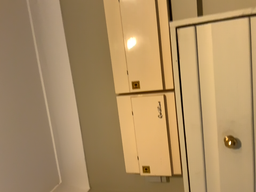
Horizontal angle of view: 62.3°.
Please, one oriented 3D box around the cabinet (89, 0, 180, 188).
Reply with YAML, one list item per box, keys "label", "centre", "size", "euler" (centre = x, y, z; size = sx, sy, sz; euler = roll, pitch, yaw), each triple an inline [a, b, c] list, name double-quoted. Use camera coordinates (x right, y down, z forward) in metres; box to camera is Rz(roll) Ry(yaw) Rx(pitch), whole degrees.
- label: "cabinet"
  centre: [0.030, -0.050, 0.730]
  size: [0.090, 0.230, 0.730]
  euler: [-35, -61, -72]
